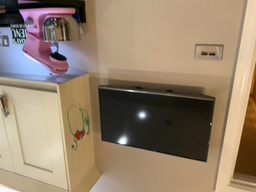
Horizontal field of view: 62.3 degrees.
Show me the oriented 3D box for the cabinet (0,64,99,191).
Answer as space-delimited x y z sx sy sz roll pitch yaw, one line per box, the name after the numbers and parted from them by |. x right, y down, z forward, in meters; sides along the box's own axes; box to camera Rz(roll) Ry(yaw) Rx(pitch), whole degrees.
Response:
-0.830 0.250 1.650 1.110 0.900 0.350 7 -159 19 | cabinet

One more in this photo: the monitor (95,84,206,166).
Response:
0.120 0.180 1.400 0.700 0.470 0.040 6 -159 18 | monitor
